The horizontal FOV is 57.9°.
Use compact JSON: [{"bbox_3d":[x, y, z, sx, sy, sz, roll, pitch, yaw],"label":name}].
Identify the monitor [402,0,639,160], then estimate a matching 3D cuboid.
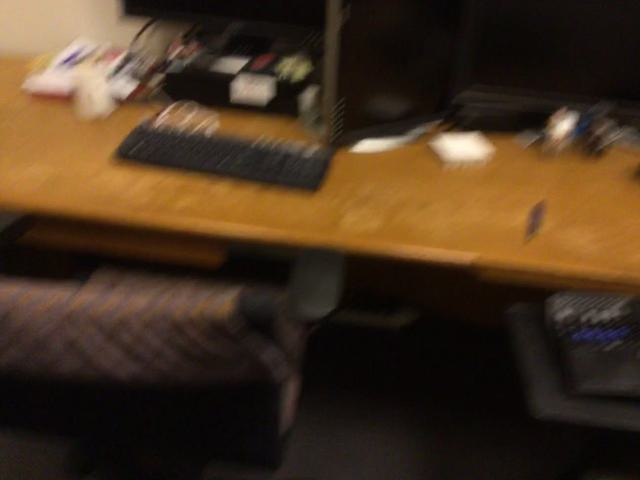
[{"bbox_3d":[0.640,-0.490,1.260,0.840,0.560,0.230,6,33,3],"label":"monitor"}]
